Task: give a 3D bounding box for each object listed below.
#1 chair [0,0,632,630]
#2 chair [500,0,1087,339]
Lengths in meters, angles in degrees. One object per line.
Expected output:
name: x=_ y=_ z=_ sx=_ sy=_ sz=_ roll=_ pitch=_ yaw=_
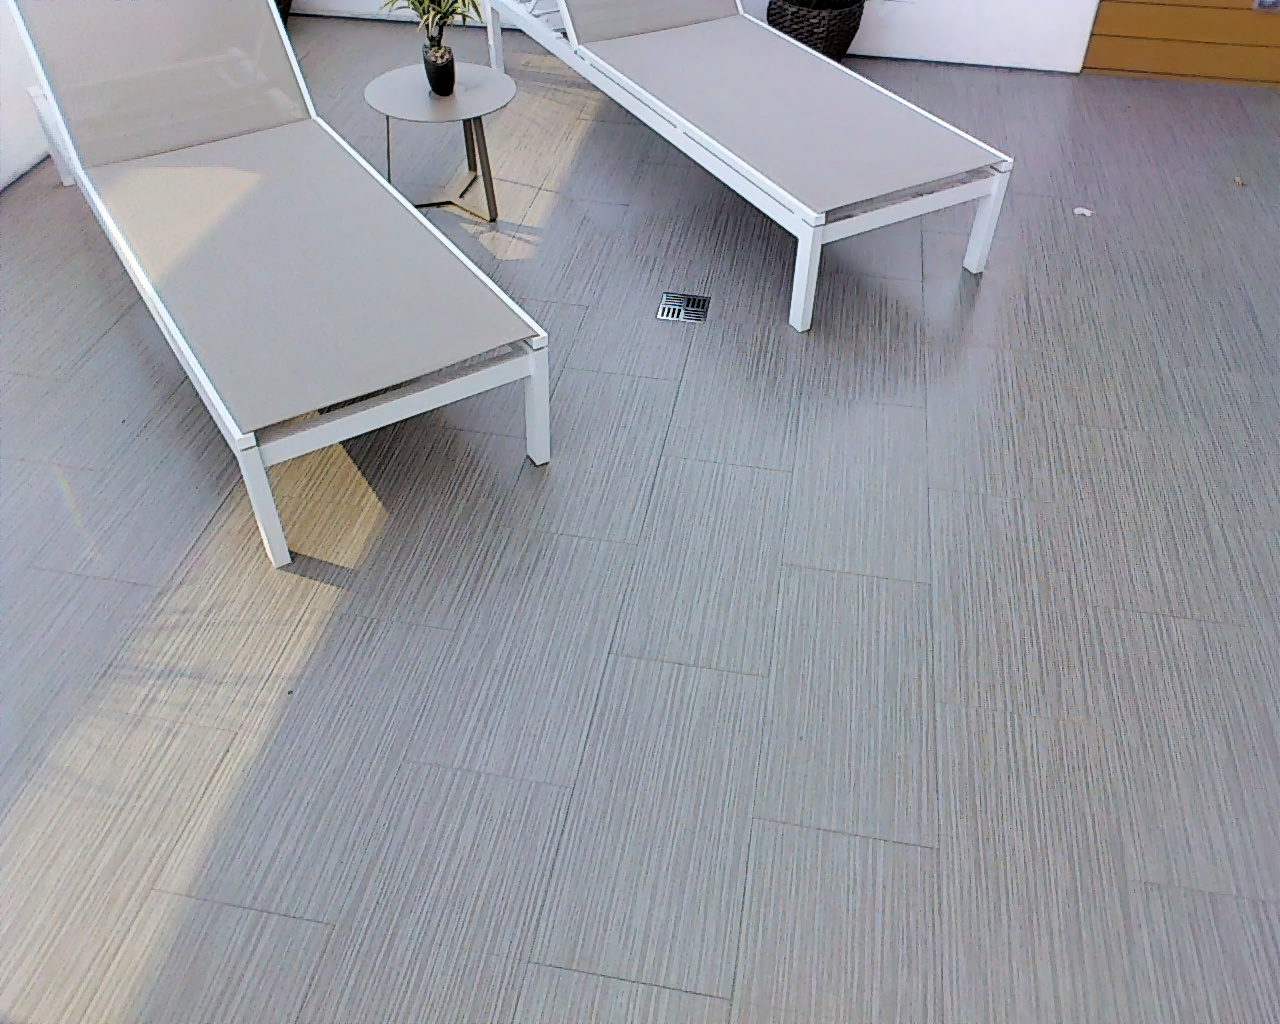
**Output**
chair: x=-0.980 y=-0.930 z=2.580 sx=0.870 sy=1.070 sz=2.150 roll=-24 pitch=48 yaw=-24
chair: x=0.300 y=-1.510 z=3.310 sx=0.750 sy=0.970 sz=1.920 roll=-21 pitch=47 yaw=-22
